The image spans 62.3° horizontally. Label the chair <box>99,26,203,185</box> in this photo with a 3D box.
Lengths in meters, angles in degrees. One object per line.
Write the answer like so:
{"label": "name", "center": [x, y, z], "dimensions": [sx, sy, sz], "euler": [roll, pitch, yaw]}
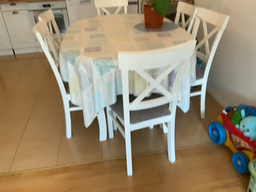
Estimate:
{"label": "chair", "center": [0.100, 0.050, 1.420], "dimensions": [0.420, 0.870, 0.500], "euler": [-11, 32, -15]}
